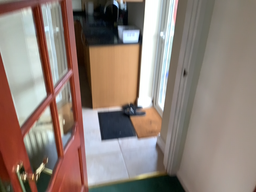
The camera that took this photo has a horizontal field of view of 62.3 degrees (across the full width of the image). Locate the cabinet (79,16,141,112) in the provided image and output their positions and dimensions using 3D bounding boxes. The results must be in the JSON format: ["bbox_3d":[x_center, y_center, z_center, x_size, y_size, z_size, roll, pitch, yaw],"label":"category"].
[{"bbox_3d":[-0.420,-0.700,3.600,0.630,0.940,2.050,-5,30,-14],"label":"cabinet"}]
